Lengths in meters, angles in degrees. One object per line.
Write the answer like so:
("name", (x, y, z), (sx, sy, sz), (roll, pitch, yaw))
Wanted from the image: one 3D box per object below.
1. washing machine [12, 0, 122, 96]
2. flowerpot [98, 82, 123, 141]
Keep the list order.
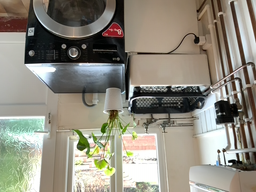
("washing machine", (-0.370, -0.520, 1.660), (0.590, 0.850, 0.810), (-1, 165, -4))
("flowerpot", (-0.140, 0.140, 1.730), (0.180, 0.430, 0.280), (-1, 165, -3))
